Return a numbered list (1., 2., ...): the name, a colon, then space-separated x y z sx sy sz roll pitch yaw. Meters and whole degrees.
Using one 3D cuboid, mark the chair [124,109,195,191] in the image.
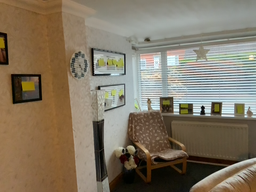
1. chair: 0.450 0.780 3.430 0.750 0.920 1.020 -4 7 -17
